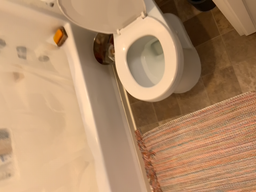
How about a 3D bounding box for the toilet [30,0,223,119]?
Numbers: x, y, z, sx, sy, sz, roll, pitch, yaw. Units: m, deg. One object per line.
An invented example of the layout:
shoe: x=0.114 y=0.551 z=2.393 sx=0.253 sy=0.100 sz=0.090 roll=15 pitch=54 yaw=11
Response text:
toilet: x=0.030 y=-0.350 z=1.070 sx=0.440 sy=0.810 sz=0.760 roll=-24 pitch=77 yaw=34
